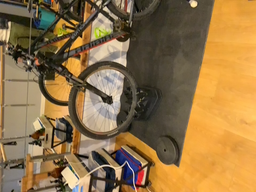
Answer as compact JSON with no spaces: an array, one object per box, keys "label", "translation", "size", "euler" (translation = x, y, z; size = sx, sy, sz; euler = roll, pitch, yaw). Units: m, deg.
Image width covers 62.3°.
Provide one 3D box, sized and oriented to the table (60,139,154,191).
[{"label":"table","translation":[-0.200,0.690,2.040],"size":[0.450,0.750,0.300],"euler":[22,109,52]}]
